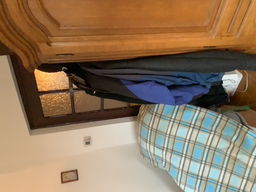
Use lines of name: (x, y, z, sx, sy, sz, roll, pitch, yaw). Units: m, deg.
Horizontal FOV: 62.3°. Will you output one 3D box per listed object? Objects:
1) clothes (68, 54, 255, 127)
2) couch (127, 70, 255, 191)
clothes: (0.230, -0.120, 1.470, 0.730, 1.210, 0.270, -145, 51, -69)
couch: (0.660, 0.450, 1.990, 1.040, 1.020, 0.960, -119, 27, -54)
